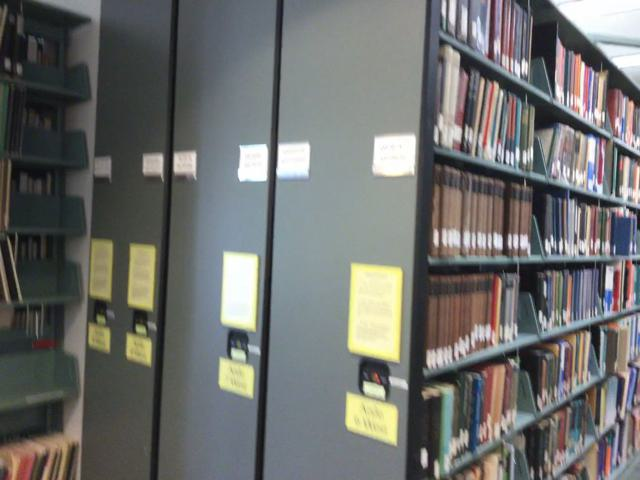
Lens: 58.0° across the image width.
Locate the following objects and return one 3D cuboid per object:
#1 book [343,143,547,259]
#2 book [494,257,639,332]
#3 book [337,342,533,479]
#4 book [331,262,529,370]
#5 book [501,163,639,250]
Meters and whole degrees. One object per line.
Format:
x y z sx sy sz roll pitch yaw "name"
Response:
0.440 -0.090 1.860 0.290 0.290 0.800 1 -1 41 "book"
1.410 0.230 2.920 0.260 0.270 1.870 1 -1 41 "book"
0.410 0.520 1.900 0.320 0.250 0.740 1 -1 39 "book"
0.390 0.210 1.870 0.290 0.270 0.760 1 -1 40 "book"
1.400 -0.110 2.870 0.320 0.290 1.730 1 -1 40 "book"
